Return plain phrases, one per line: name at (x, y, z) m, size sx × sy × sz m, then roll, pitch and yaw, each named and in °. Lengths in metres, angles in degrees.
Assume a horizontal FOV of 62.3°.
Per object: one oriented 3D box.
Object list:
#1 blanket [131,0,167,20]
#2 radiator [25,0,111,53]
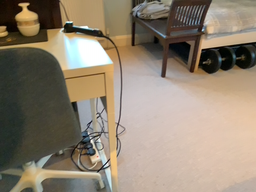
blanket at (0.240, -1.050, 2.570) m, size 0.300 × 0.130 × 0.430 m, roll -9°, pitch 34°, yaw -14°
radiator at (-0.670, -0.920, 2.520) m, size 0.910 × 0.680 × 0.150 m, roll -12°, pitch 36°, yaw -18°
